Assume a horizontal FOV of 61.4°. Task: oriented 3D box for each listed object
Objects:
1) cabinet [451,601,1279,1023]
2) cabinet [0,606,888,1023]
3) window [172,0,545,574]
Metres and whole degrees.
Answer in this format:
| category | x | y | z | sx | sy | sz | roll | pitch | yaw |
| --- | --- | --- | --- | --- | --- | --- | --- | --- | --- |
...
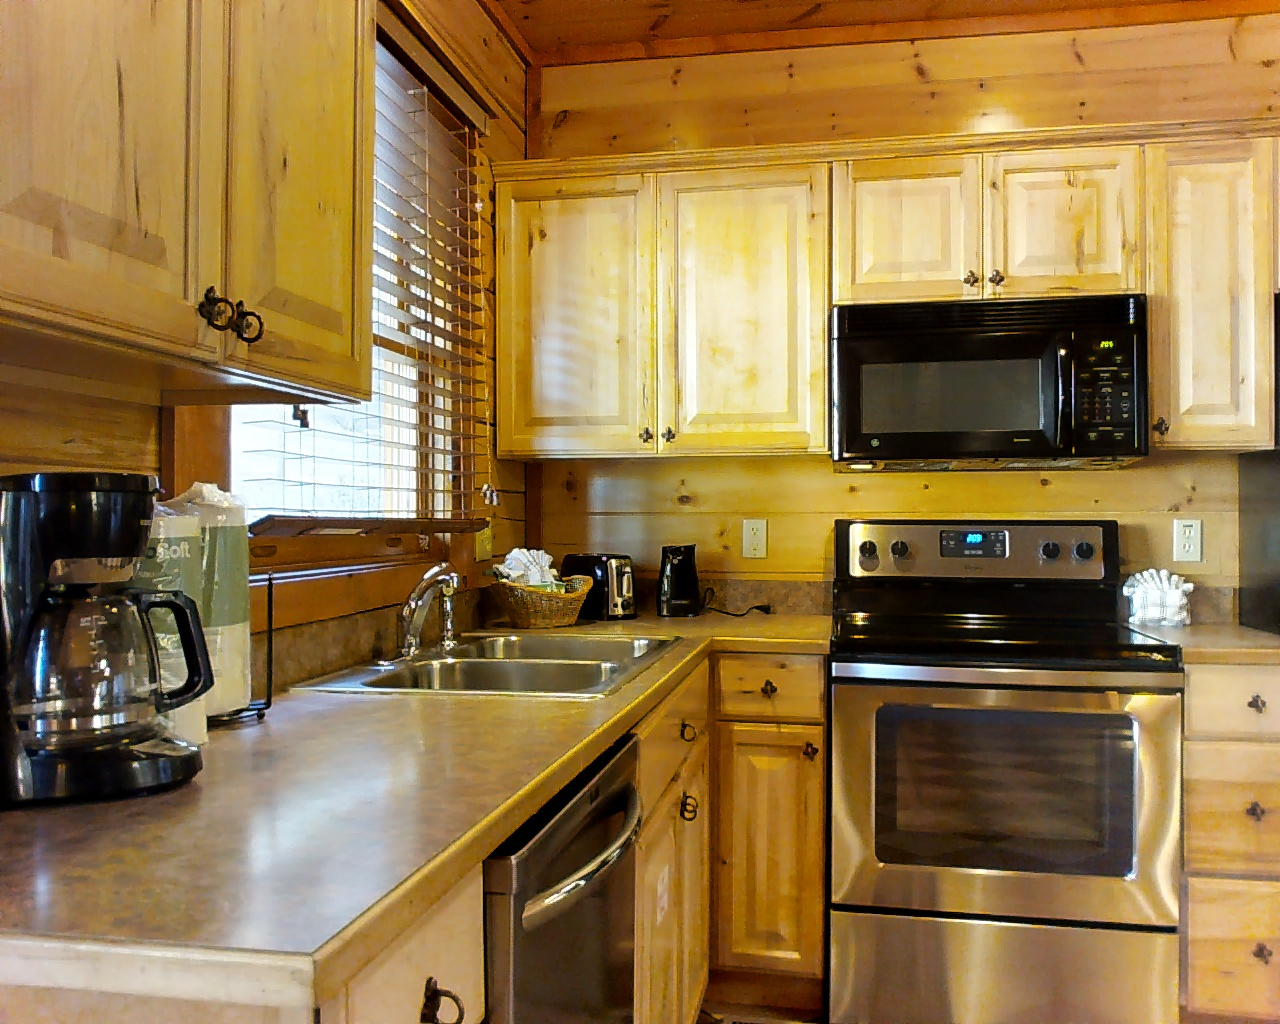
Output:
| category | x | y | z | sx | sy | sz | roll | pitch | yaw |
| --- | --- | --- | --- | --- | --- | --- | --- | --- | --- |
| cabinet | 0.570 | 0.720 | 2.750 | 1.959 | 0.900 | 0.680 | 0 | 0 | 11 |
| cabinet | -0.110 | 0.720 | 1.880 | 0.970 | 0.880 | 2.500 | 0 | 0 | 11 |
| window | -0.490 | -0.440 | 2.200 | 0.310 | 1.070 | 1.060 | 0 | 0 | 11 |
